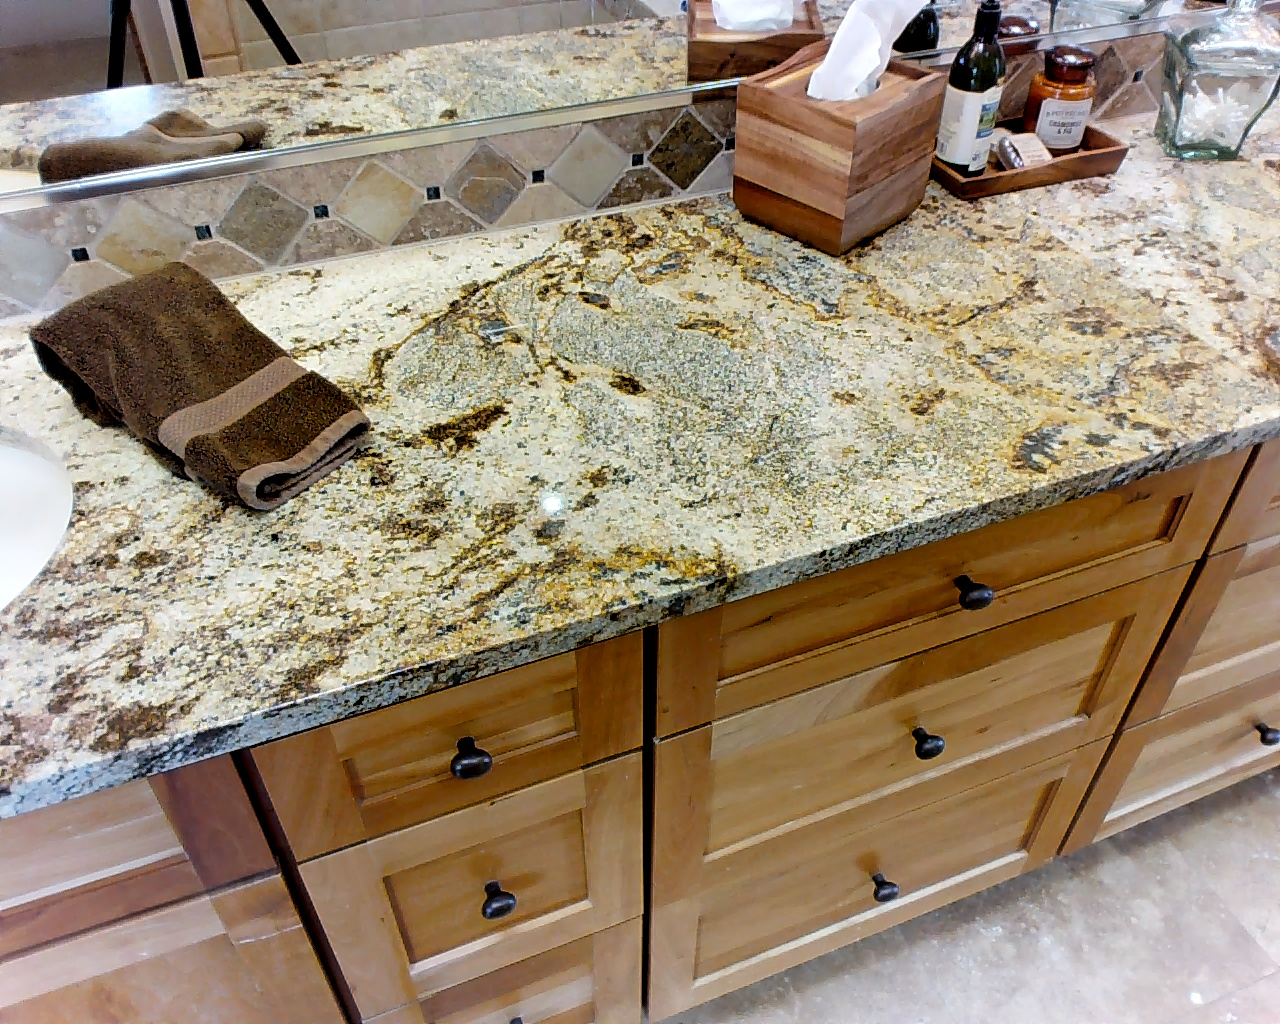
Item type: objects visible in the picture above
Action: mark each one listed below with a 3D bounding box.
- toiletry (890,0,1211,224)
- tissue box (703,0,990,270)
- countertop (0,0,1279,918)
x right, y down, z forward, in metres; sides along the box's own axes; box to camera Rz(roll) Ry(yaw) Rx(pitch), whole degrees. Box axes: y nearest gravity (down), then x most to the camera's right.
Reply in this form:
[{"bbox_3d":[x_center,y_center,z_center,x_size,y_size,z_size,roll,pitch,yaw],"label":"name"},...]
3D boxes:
[{"bbox_3d":[0.460,-0.480,1.230,0.270,0.200,0.150,-15,44,-16],"label":"toiletry"},{"bbox_3d":[0.210,-0.430,1.140,0.190,0.230,0.200,-33,52,-32],"label":"tissue box"},{"bbox_3d":[0.460,-0.350,1.140,3.681,0.290,0.740,-15,44,-17],"label":"countertop"}]
